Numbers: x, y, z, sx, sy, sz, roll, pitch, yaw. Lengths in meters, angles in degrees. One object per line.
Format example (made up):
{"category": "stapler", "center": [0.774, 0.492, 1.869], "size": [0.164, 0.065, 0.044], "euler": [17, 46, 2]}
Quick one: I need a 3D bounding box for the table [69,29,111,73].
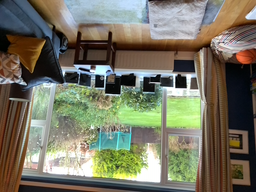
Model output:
{"category": "table", "center": [-0.500, -0.610, 2.920], "size": [0.450, 0.470, 0.380], "euler": [3, 167, 5]}

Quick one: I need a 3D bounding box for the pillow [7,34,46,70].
{"category": "pillow", "center": [-1.030, -0.460, 2.180], "size": [0.280, 0.320, 0.160], "euler": [-9, -161, -11]}
